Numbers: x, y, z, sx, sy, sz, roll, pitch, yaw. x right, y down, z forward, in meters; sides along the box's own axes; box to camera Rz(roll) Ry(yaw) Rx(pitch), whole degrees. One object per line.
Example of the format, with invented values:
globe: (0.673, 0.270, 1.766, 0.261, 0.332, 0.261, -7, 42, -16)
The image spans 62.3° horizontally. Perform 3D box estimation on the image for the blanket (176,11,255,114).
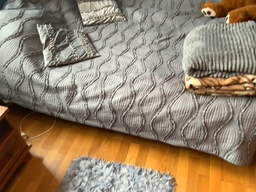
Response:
blanket: (0.570, -0.240, 1.320, 0.460, 0.300, 0.600, 8, 46, 9)
